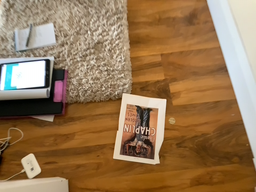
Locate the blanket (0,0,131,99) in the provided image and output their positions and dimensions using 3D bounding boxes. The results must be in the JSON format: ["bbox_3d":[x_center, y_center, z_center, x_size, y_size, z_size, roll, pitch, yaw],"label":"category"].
[{"bbox_3d":[-0.390,-0.630,1.220,0.740,0.050,1.320,-3,71,0],"label":"blanket"}]
